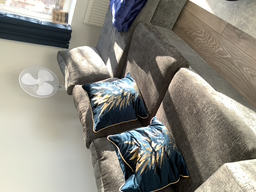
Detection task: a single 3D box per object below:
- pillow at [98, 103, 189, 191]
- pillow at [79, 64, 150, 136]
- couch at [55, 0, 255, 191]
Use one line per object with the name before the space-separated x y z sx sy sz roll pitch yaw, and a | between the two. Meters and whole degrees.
pillow | 0.090 0.350 1.410 0.220 0.430 0.450 74 171 -48
pillow | -0.120 0.010 1.730 0.200 0.420 0.480 86 162 -46
couch | 0.040 -0.040 1.790 1.060 0.820 2.350 -64 37 34
